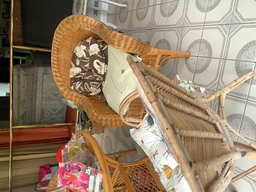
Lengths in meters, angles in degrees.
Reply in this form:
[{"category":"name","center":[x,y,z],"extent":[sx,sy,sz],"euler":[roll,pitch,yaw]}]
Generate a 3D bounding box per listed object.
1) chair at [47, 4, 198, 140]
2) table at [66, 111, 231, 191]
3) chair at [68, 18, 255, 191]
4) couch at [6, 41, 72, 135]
[{"category":"chair","center":[-0.120,-0.200,1.660],"extent":[0.720,0.810,0.700],"euler":[47,128,49]},{"category":"table","center":[0.050,0.600,1.450],"extent":[0.740,0.710,0.750],"euler":[33,117,55]},{"category":"chair","center":[0.250,0.200,1.020],"extent":[0.720,0.820,0.610],"euler":[-54,46,44]},{"category":"couch","center":[-1.530,-0.170,3.470],"extent":[1.110,0.790,1.090],"euler":[45,127,50]}]
